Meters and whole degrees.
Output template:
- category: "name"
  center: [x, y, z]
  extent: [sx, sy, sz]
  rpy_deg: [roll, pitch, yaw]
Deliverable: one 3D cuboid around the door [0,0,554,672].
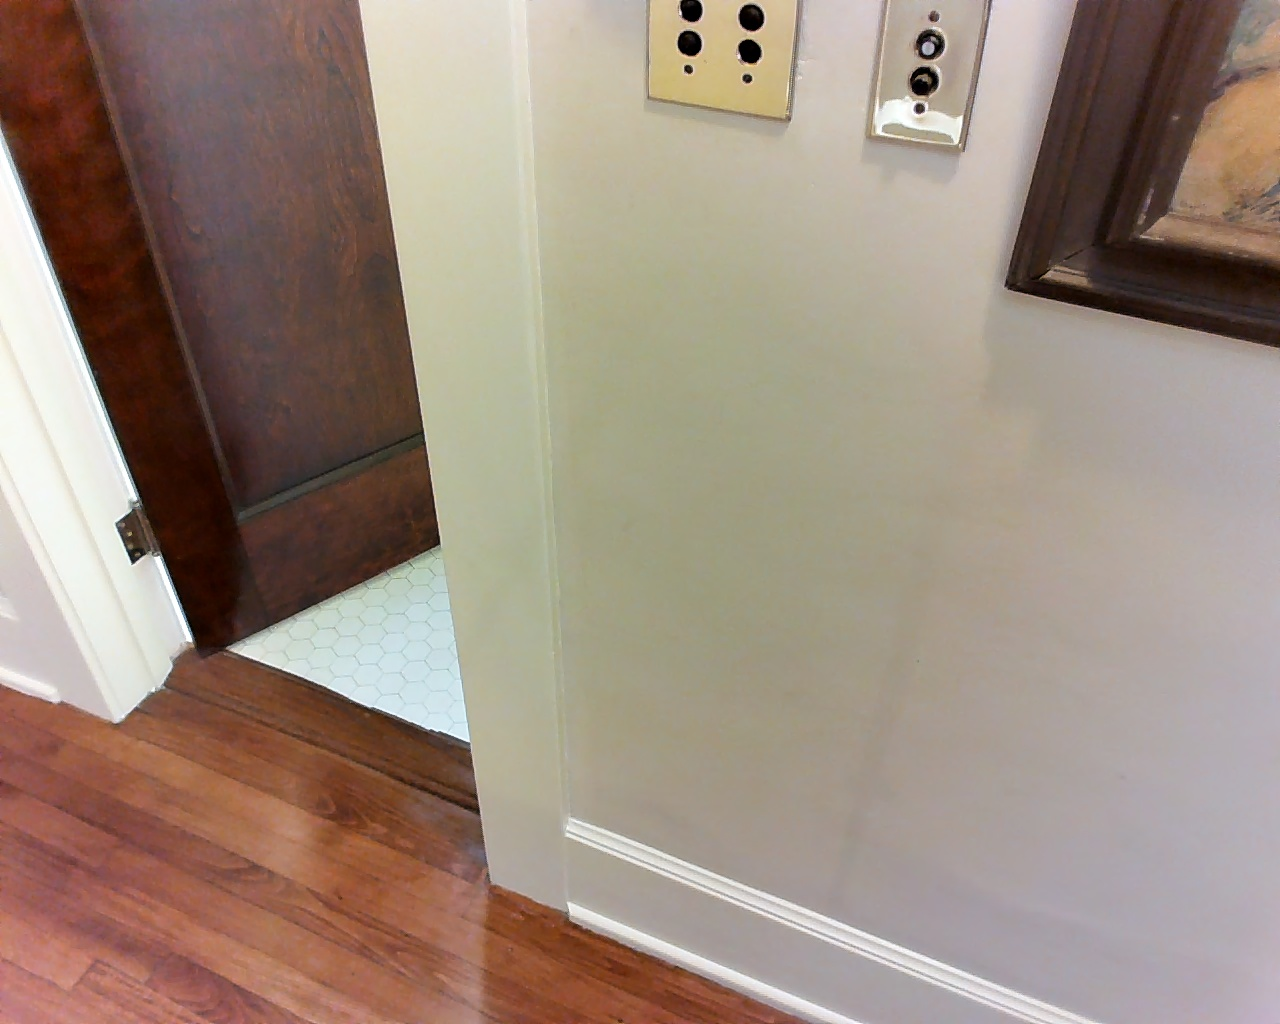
- category: "door"
  center: [-0.510, -0.680, 1.520]
  extent: [0.800, 2.130, 0.070]
  rpy_deg: [-27, 49, -29]
